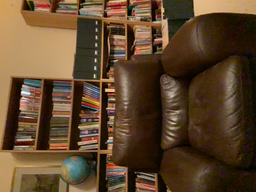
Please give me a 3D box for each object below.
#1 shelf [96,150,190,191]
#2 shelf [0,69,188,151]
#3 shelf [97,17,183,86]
[{"bbox_3d":[0.160,1.030,2.370,0.240,1.010,0.820,124,147,-72],"label":"shelf"},{"bbox_3d":[-0.360,0.200,2.480,0.280,2.060,0.850,124,147,-72],"label":"shelf"},{"bbox_3d":[0.140,-0.560,2.770,0.310,1.040,0.750,124,147,-72],"label":"shelf"}]
